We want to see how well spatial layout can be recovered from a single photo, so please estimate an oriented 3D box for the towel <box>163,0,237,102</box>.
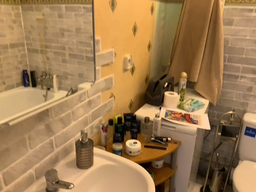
[{"bbox_3d":[0.540,-0.410,1.630,0.410,0.810,0.250,12,23,23],"label":"towel"}]
